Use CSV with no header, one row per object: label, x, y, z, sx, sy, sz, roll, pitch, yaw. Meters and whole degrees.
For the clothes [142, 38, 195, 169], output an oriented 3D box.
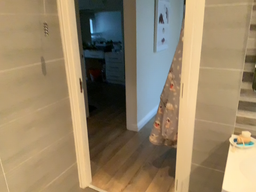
clothes,0.330,0.050,1.780,0.320,1.010,0.340,8,21,25
